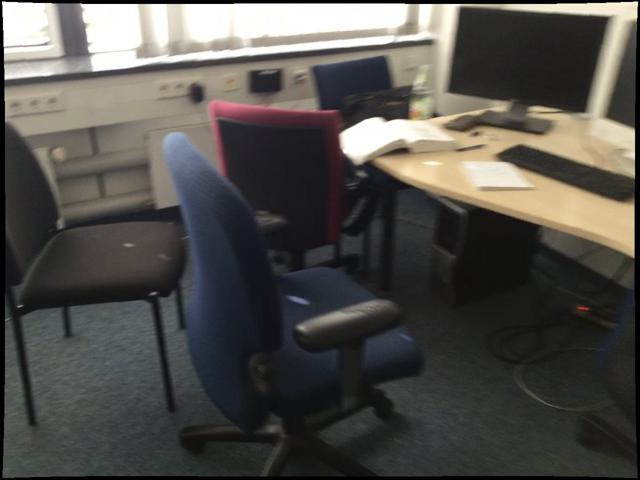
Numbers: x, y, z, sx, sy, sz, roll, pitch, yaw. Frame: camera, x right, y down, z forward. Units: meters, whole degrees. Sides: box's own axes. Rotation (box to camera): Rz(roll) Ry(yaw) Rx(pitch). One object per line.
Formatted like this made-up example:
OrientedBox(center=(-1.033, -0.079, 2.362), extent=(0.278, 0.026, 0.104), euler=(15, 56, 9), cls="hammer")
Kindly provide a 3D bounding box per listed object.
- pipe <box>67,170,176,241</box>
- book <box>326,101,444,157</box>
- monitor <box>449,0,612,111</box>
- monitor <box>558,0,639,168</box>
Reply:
OrientedBox(center=(-0.979, -0.180, 2.880), extent=(0.460, 0.210, 0.180), euler=(-15, 33, -25), cls="pipe")
OrientedBox(center=(0.220, -0.400, 2.050), extent=(0.330, 0.080, 0.290), euler=(-7, 31, -13), cls="book")
OrientedBox(center=(0.759, -0.691, 2.120), extent=(0.470, 0.300, 0.250), euler=(17, 34, 27), cls="monitor")
OrientedBox(center=(1.019, -0.460, 1.750), extent=(0.160, 0.430, 0.540), euler=(-11, 32, -19), cls="monitor")
